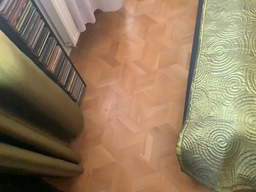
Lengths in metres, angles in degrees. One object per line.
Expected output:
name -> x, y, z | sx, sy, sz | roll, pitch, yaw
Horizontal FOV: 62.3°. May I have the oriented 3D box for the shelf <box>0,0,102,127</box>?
shelf -> -0.360, -0.160, 0.990 | 0.210, 0.890, 0.360 | 13, 70, 10
